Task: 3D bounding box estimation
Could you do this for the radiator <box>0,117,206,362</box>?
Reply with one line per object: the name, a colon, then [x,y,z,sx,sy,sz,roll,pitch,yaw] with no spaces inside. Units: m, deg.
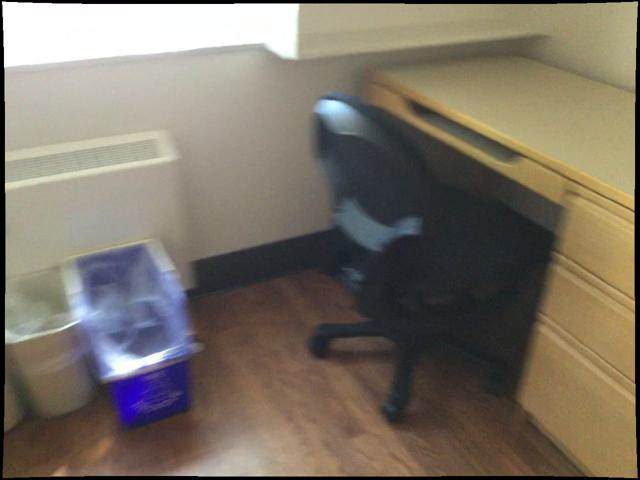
radiator: [-0.869,0.050,1.560,1.079,0.570,0.160,-16,38,-26]
